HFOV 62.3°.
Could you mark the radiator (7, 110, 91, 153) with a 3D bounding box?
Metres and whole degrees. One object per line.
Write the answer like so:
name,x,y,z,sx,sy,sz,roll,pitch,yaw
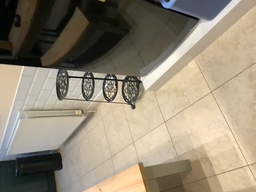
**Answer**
radiator,-1.060,0.470,2.730,1.120,0.750,0.110,-42,56,45
